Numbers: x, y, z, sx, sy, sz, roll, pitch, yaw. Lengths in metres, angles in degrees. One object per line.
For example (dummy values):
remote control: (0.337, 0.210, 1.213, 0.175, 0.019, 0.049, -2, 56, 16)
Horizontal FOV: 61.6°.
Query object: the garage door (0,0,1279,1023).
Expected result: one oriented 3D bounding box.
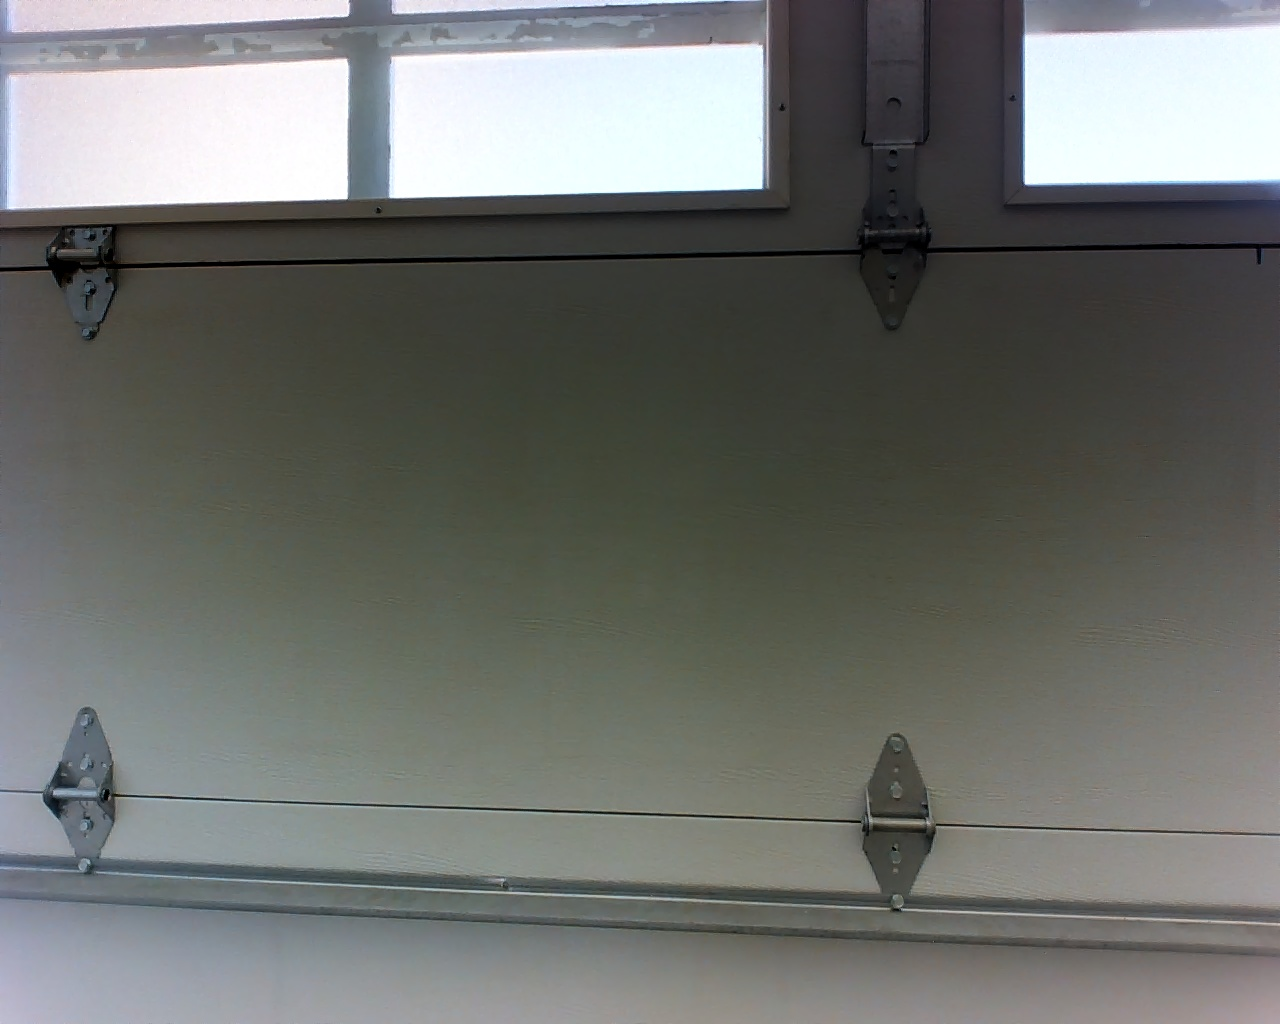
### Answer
garage door: (0.290, 0.240, 1.180, 3.580, 2.660, 0.150, 1, 0, 7)
